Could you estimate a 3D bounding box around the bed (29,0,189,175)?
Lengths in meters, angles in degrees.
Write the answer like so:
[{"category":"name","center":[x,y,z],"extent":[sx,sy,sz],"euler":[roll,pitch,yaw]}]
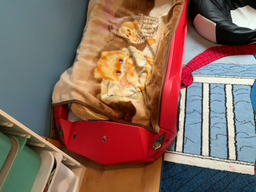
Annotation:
[{"category":"bed","center":[0.030,-0.480,1.910],"extent":[0.940,0.290,2.090],"euler":[5,60,15]}]
